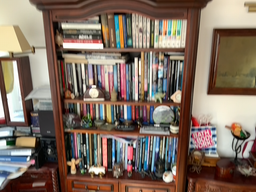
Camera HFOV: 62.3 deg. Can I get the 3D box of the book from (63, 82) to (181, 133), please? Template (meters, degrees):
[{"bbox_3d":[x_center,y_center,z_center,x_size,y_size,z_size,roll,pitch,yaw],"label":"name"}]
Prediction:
[{"bbox_3d":[-0.040,0.070,1.650,0.830,0.280,0.280,2,17,7],"label":"book"}]

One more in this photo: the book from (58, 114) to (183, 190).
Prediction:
[{"bbox_3d":[-0.040,0.410,1.690,0.860,0.360,0.410,2,17,8],"label":"book"}]

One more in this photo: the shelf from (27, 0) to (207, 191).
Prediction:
[{"bbox_3d":[-0.060,0.320,1.660,1.020,2.070,0.410,2,17,7],"label":"shelf"}]
